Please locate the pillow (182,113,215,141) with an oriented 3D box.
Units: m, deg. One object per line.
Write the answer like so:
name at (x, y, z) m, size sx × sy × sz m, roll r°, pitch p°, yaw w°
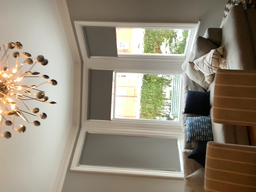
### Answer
pillow at (1.190, 0.530, 3.620) m, size 0.200 × 0.400 × 0.390 m, roll 111°, pitch 153°, yaw -65°
